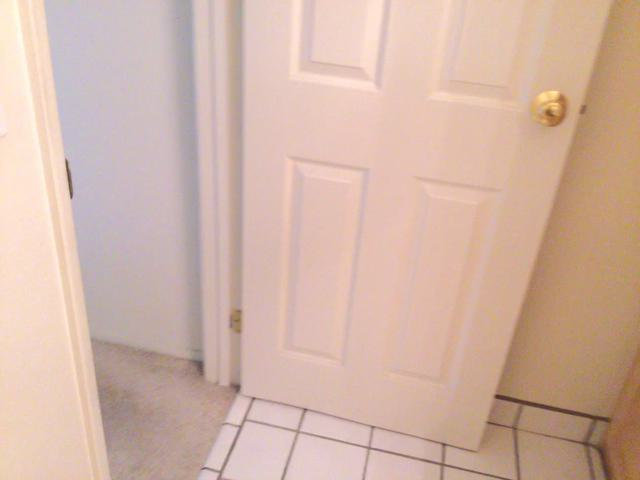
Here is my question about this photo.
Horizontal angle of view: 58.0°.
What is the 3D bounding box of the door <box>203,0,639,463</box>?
[{"bbox_3d":[0.140,-0.100,1.350,0.830,1.480,0.060,10,30,9],"label":"door"}]
